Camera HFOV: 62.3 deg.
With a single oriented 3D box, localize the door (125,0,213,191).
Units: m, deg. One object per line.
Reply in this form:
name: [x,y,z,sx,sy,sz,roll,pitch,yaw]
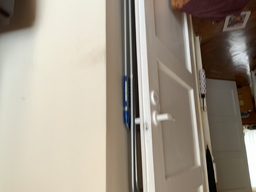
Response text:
door: [0.270,0.090,1.140,0.150,2.010,0.870,-8,166,28]
